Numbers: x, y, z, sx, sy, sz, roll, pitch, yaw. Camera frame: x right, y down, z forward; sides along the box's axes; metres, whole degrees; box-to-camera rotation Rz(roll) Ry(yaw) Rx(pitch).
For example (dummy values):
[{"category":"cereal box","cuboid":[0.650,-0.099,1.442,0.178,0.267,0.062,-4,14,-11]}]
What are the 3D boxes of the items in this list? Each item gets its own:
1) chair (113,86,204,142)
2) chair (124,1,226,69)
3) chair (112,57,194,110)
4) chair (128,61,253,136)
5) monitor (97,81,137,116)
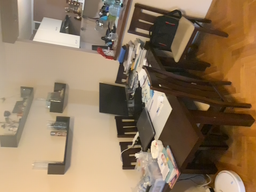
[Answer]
[{"category":"chair","cuboid":[0.360,0.250,2.740,0.440,0.990,0.480,-105,26,-51]},{"category":"chair","cuboid":[0.520,-0.730,2.570,0.550,0.990,0.460,-104,25,-50]},{"category":"chair","cuboid":[0.320,-0.170,3.030,0.480,0.990,0.440,-104,25,-50]},{"category":"chair","cuboid":[0.570,0.040,2.110,0.470,0.990,0.470,-106,27,-52]},{"category":"monitor","cuboid":[-0.160,0.030,2.840,0.560,0.450,0.050,-106,30,-44]}]
